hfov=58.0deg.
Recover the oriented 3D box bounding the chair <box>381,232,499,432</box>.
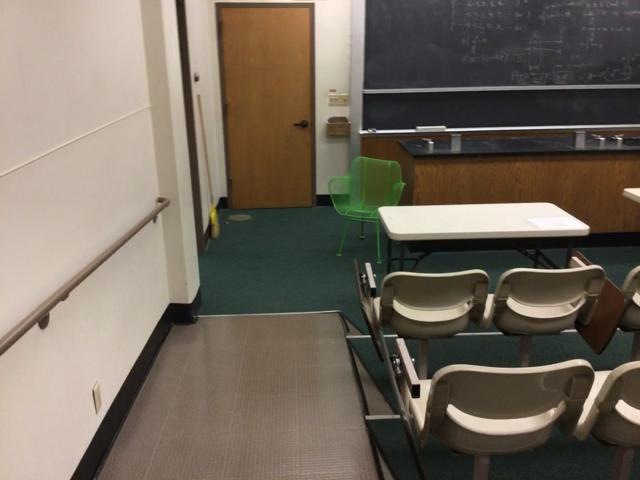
[{"bbox_3d":[0.550,0.420,2.760,0.480,0.790,0.510,-2,17,7],"label":"chair"}]

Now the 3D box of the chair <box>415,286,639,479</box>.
[{"bbox_3d":[0.680,0.670,2.000,0.650,0.830,0.640,-2,17,7],"label":"chair"}]

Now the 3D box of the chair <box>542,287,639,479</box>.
[{"bbox_3d":[1.110,0.600,1.950,0.520,0.710,0.580,-2,17,7],"label":"chair"}]

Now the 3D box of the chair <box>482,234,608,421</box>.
[{"bbox_3d":[1.040,0.400,2.780,0.420,0.720,0.530,-2,17,7],"label":"chair"}]
